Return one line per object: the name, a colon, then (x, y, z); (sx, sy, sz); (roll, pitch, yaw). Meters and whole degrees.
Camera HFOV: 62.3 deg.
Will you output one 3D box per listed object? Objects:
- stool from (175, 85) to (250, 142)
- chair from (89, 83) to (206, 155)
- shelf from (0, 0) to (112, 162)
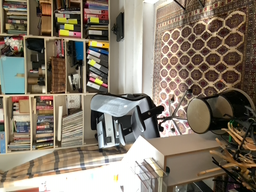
stool: (0.670, 0.110, 1.740); (0.410, 0.380, 0.400); (-170, 80, -69)
chair: (0.160, 0.240, 2.220); (0.580, 1.000, 0.610); (146, 121, -65)
shelf: (-1.190, -0.430, 3.200); (0.310, 1.860, 2.630); (-170, 80, -69)
